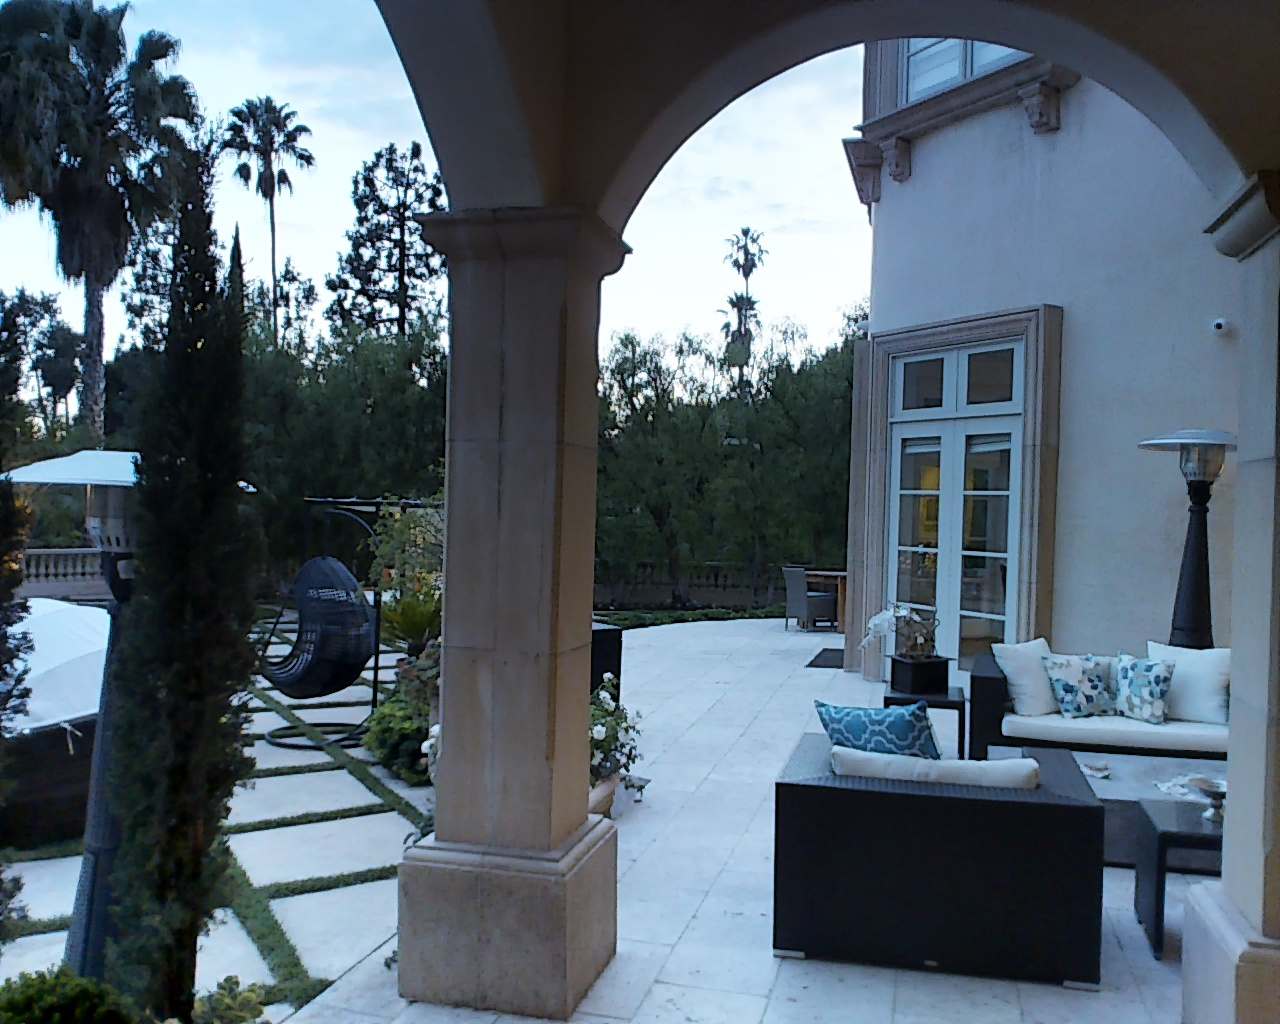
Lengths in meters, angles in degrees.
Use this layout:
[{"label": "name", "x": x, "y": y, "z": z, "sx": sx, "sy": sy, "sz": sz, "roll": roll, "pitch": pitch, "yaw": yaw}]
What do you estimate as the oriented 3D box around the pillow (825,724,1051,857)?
[{"label": "pillow", "x": 1.170, "y": 1.090, "z": 4.240, "sx": 0.830, "sy": 0.340, "sz": 0.240, "roll": 2, "pitch": 17, "yaw": 19}]
